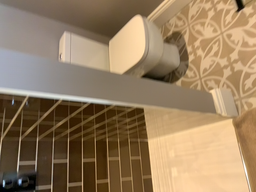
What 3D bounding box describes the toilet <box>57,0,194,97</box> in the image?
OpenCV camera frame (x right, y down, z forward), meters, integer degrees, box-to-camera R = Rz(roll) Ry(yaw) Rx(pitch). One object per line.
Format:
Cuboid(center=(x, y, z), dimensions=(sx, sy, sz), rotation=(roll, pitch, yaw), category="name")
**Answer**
Cuboid(center=(-0.040, -0.320, 1.580), dimensions=(0.600, 0.780, 0.390), rotation=(-31, 59, 49), category="toilet")
